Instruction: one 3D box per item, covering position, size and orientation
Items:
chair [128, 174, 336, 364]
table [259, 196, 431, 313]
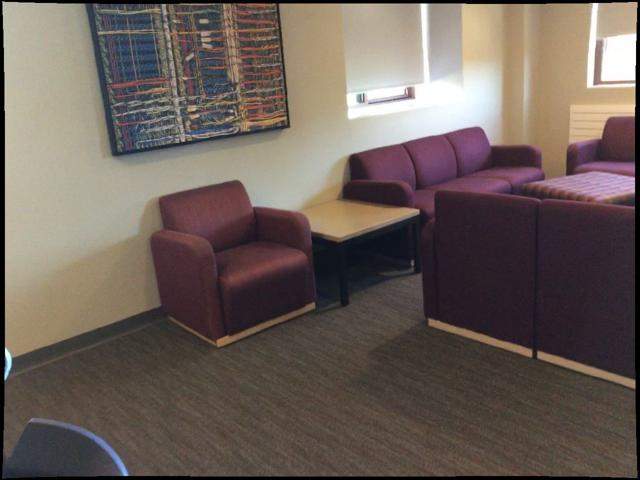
[{"bbox_3d":[-0.509,0.100,3.440,0.849,0.792,0.779,-19,22,-39],"label":"chair"},{"bbox_3d":[0.180,0.050,3.980,0.859,0.461,0.779,-19,22,-39],"label":"table"}]
